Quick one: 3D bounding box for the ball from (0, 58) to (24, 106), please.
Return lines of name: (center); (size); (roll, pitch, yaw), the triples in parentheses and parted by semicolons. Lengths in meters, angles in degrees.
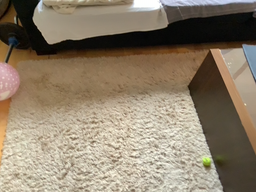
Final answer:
ball: (-0.780, -0.070, 1.250); (0.250, 0.160, 0.210); (-13, 63, -12)
